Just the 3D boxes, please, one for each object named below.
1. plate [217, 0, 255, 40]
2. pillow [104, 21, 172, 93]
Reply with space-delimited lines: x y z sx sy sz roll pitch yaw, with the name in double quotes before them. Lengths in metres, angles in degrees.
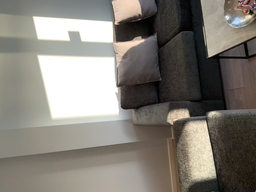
"plate" 0.710 -0.570 1.330 0.320 0.050 0.320 157 109 -70
"pillow" 0.120 -0.430 2.490 0.610 0.540 0.270 -66 18 -11
